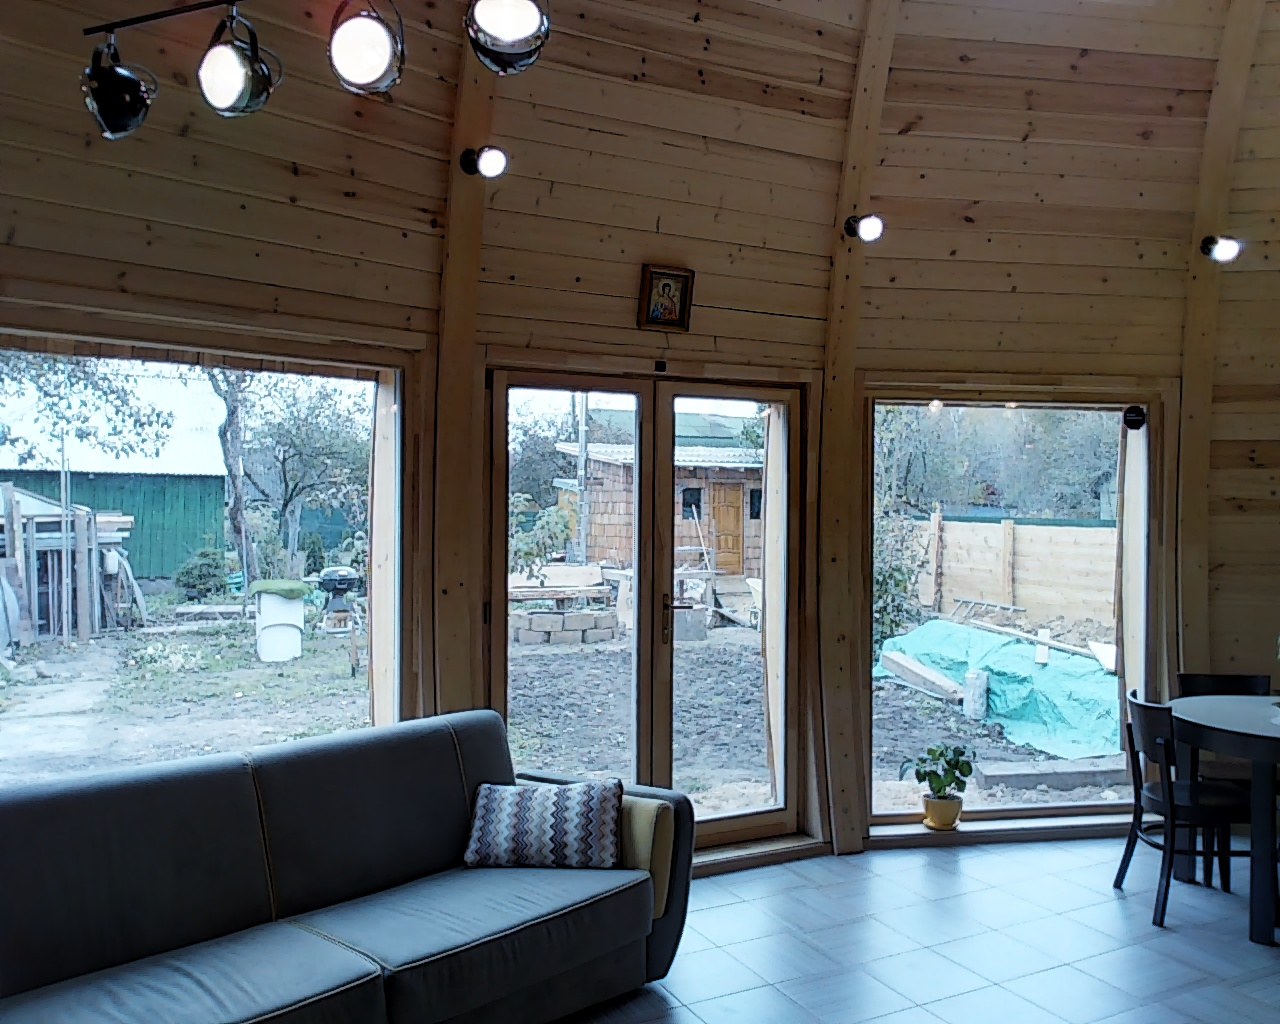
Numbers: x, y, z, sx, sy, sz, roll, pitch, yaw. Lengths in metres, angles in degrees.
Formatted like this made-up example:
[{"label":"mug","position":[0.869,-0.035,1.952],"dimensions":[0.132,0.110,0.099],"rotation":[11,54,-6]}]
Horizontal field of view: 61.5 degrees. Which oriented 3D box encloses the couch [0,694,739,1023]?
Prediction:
[{"label":"couch","position":[-0.940,1.150,3.070],"dimensions":[1.080,0.850,2.510],"rotation":[-1,-1,45]}]
